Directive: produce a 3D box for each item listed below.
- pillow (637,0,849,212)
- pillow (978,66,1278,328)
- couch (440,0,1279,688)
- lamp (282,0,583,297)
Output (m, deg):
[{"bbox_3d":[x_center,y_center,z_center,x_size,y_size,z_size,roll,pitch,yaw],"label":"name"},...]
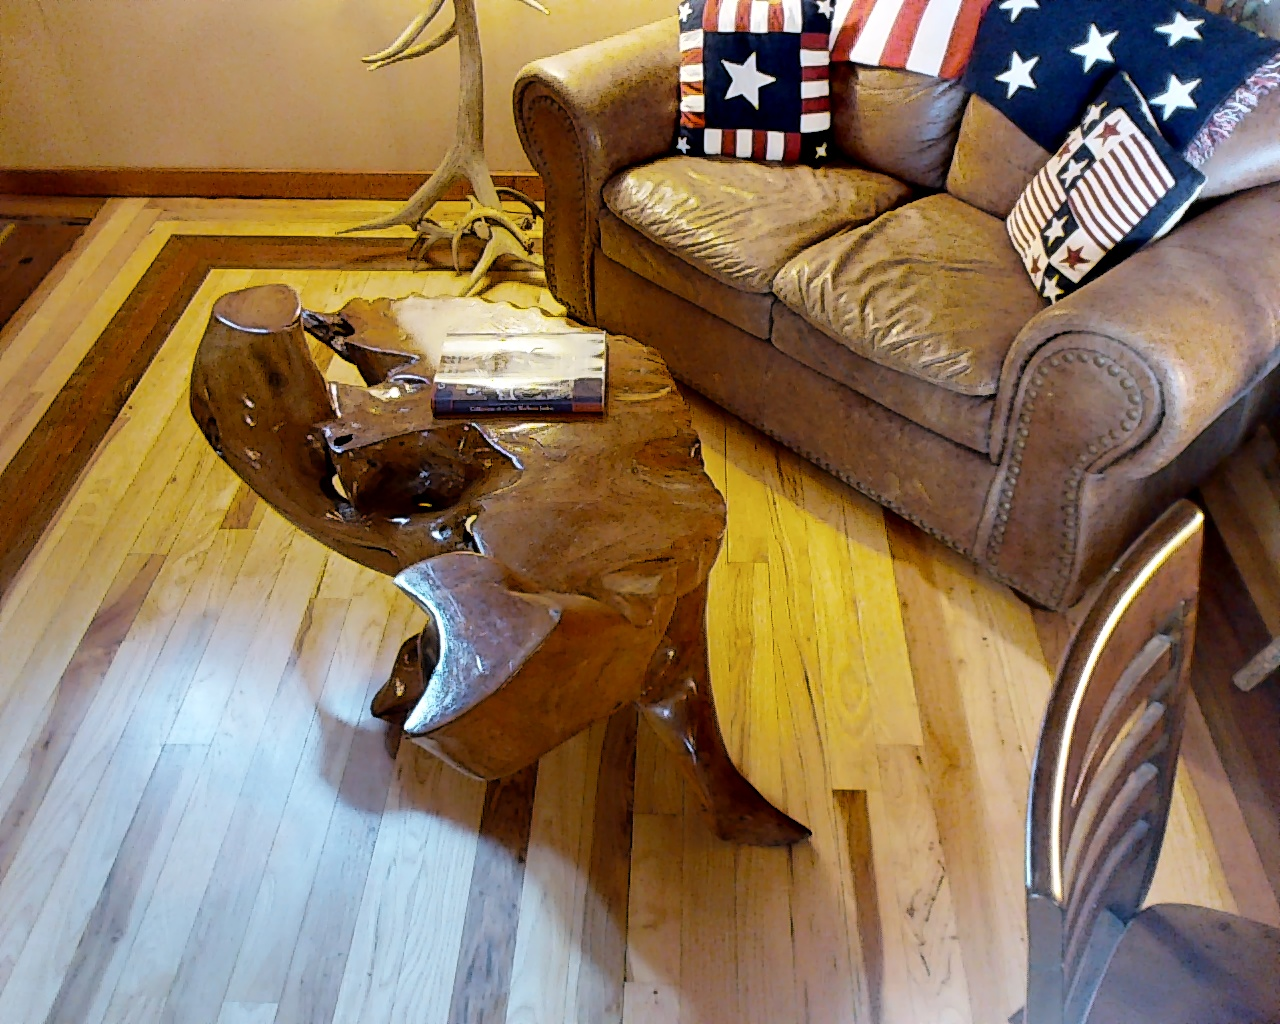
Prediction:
[{"bbox_3d":[0.220,-0.980,2.440,0.430,0.300,0.500,1,65,2],"label":"pillow"},{"bbox_3d":[0.870,-0.590,2.000,0.340,0.320,0.400,1,42,2],"label":"pillow"},{"bbox_3d":[0.760,-0.800,2.470,1.840,0.940,1.410,-32,51,-30],"label":"couch"},{"bbox_3d":[-0.530,-1.410,2.730,0.480,1.530,0.610,17,45,18],"label":"lamp"}]
